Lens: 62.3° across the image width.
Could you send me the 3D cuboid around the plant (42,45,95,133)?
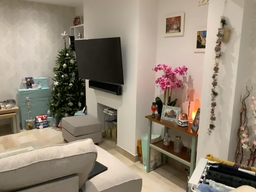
[{"bbox_3d":[-1.260,-0.210,4.480,0.720,1.650,0.920,-8,15,-38],"label":"plant"}]
